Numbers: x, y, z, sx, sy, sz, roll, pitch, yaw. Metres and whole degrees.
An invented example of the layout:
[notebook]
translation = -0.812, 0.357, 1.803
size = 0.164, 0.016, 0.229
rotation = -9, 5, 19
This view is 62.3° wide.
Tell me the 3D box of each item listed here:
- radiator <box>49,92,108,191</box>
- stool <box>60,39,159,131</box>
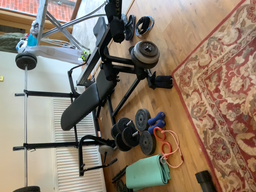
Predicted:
[radiator]
translation = -0.620, 0.760, 2.620
size = 0.140, 0.600, 1.750
rotation = -46, 49, 48
[stool]
translation = -0.280, -0.020, 2.310
size = 1.170, 0.620, 0.330
rotation = -50, 46, 45
